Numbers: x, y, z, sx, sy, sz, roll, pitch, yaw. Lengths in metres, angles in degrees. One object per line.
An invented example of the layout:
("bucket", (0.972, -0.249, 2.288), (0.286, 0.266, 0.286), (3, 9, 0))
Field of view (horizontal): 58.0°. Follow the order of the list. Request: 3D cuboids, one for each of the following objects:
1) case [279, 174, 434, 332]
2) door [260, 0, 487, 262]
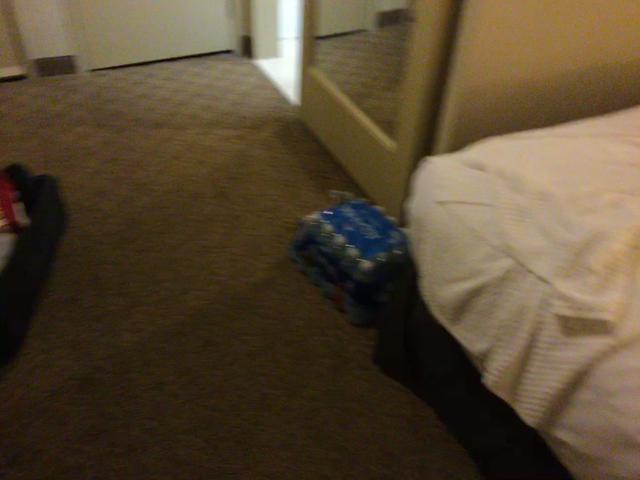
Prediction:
("case", (0.090, 0.020, 1.750), (0.290, 0.220, 0.430), (-13, 38, -20))
("door", (0.080, -0.900, 1.840), (0.170, 1.510, 1.240), (-13, 38, -20))
